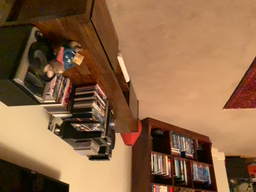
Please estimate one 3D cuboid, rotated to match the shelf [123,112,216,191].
[{"bbox_3d":[0.560,1.270,2.640,1.260,1.850,0.370,20,146,-30],"label":"shelf"}]
